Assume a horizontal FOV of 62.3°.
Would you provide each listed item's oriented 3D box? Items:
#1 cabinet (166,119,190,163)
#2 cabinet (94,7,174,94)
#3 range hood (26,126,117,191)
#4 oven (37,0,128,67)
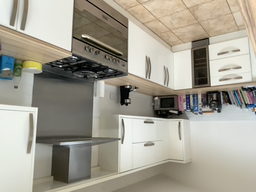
[{"bbox_3d":[0.960,0.850,4.100,0.300,0.800,0.400,-6,169,36],"label":"cabinet"},{"bbox_3d":[0.180,-0.610,3.480,0.600,0.910,1.450,-5,170,34],"label":"cabinet"},{"bbox_3d":[-0.560,0.670,2.400,0.280,0.630,1.030,-5,170,34],"label":"range hood"},{"bbox_3d":[-0.490,-0.850,2.550,0.570,0.710,0.890,-5,170,34],"label":"oven"}]
